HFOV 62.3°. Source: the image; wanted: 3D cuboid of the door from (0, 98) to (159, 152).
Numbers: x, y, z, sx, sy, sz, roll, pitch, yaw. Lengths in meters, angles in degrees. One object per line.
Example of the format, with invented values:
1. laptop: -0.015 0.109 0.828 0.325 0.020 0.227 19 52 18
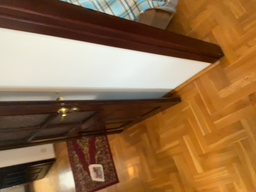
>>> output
1. door: -0.670 0.230 1.510 0.720 1.850 0.120 -35 65 45
